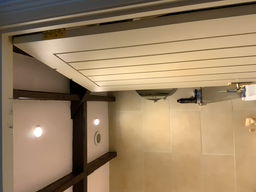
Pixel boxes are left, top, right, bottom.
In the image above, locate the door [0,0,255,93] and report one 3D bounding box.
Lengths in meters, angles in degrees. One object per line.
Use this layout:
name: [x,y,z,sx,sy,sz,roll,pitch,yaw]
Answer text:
door: [0.530,-0.220,0.930,0.890,1.990,0.070,47,-136,-66]
